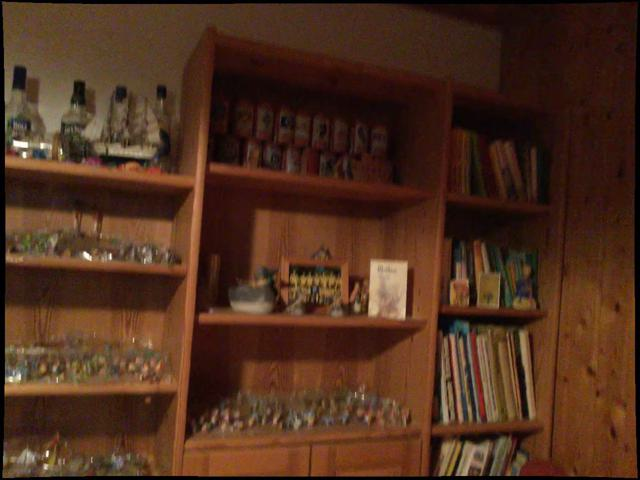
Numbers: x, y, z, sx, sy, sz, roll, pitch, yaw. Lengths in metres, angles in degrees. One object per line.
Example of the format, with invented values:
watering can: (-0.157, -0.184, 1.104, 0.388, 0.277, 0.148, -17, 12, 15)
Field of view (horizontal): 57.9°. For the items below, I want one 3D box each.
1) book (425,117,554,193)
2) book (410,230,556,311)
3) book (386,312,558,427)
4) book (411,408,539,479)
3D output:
book: (0.579, -0.280, 1.980, 0.390, 0.210, 0.170, 3, 2, -21)
book: (0.549, 0.100, 1.970, 0.400, 0.240, 0.240, 3, 2, -21)
book: (0.499, 0.410, 1.920, 0.480, 0.300, 0.250, 3, 2, -21)
book: (0.509, 0.761, 1.920, 0.370, 0.330, 0.170, 3, 2, -21)
